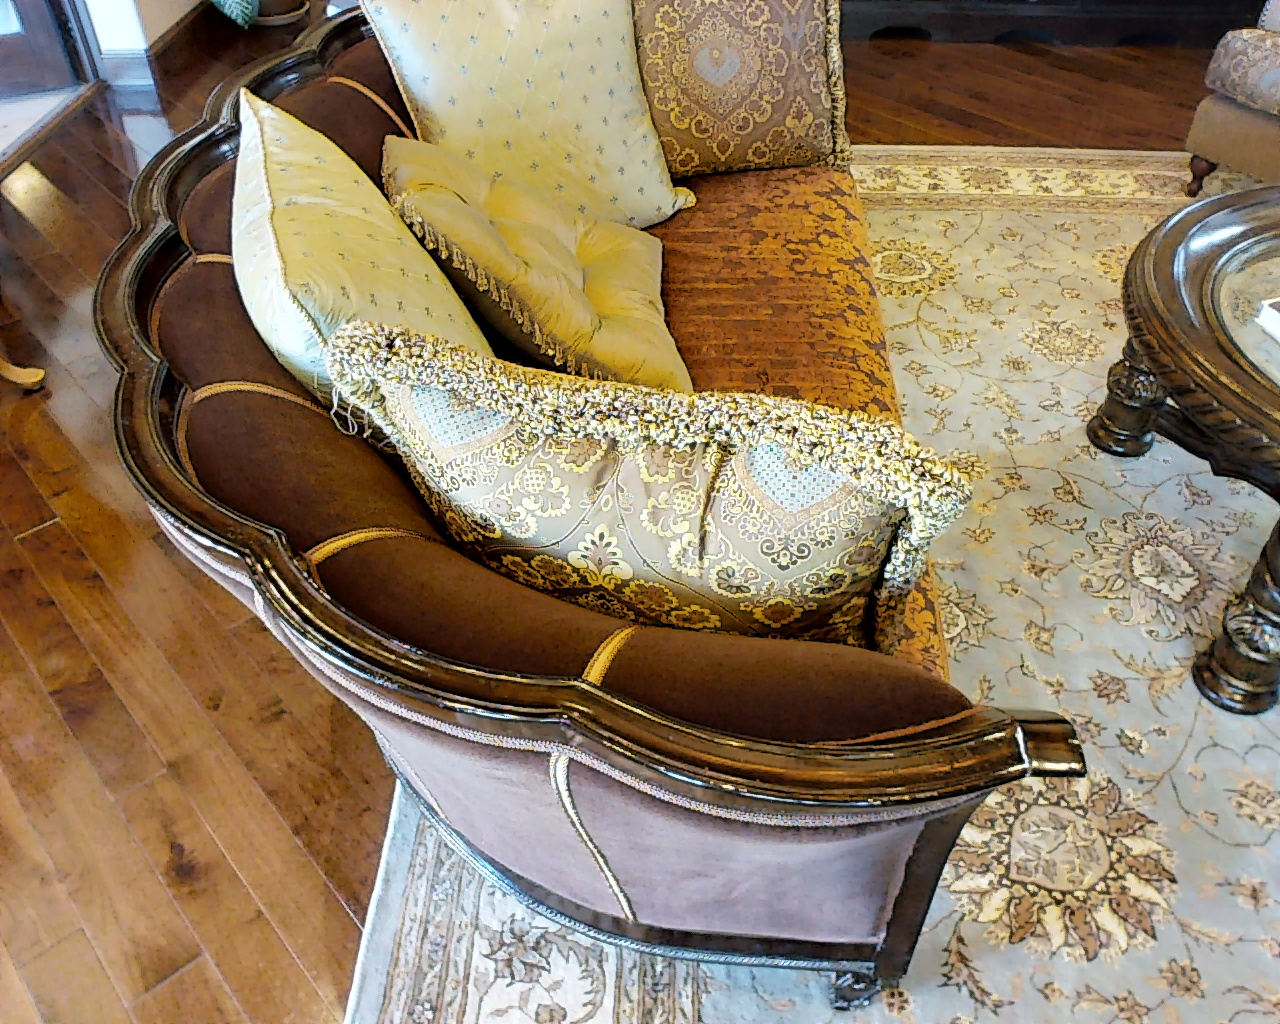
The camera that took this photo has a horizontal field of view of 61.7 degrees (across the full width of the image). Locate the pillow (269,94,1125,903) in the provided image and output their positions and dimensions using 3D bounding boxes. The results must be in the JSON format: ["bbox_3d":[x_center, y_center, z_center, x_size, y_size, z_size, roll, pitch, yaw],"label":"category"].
[{"bbox_3d":[0.030,0.020,1.170,0.700,0.570,0.300,29,42,-2],"label":"pillow"}]

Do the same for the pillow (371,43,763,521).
[{"bbox_3d":[-0.130,-0.390,1.850,0.610,0.570,0.240,-30,-49,29],"label":"pillow"}]

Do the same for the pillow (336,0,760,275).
[{"bbox_3d":[-0.180,-0.780,2.140,0.590,0.240,0.590,-11,-26,-50],"label":"pillow"}]

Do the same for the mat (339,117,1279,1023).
[{"bbox_3d":[1.120,0.060,2.240,2.930,0.150,4.090,2,41,2],"label":"mat"}]
